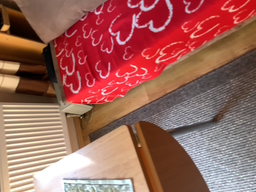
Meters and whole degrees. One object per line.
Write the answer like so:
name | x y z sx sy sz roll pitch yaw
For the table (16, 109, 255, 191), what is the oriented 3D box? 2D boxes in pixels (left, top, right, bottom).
table | 0.090 0.480 0.920 0.660 0.760 0.650 -29 69 35

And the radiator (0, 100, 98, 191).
radiator | -0.600 0.400 1.520 0.140 0.660 0.740 -30 69 35
